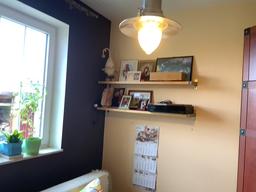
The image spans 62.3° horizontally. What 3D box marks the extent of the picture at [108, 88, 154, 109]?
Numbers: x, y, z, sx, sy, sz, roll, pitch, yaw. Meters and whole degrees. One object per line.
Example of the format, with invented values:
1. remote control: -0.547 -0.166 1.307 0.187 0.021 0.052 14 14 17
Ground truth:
1. picture: 0.030 0.030 2.710 0.560 0.230 0.160 3 -2 29

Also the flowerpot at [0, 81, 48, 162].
1. flowerpot: -1.050 0.230 2.100 0.310 0.720 0.290 3 -1 26

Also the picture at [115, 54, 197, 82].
1. picture: 0.310 -0.330 2.560 0.960 0.280 0.170 3 -1 26
